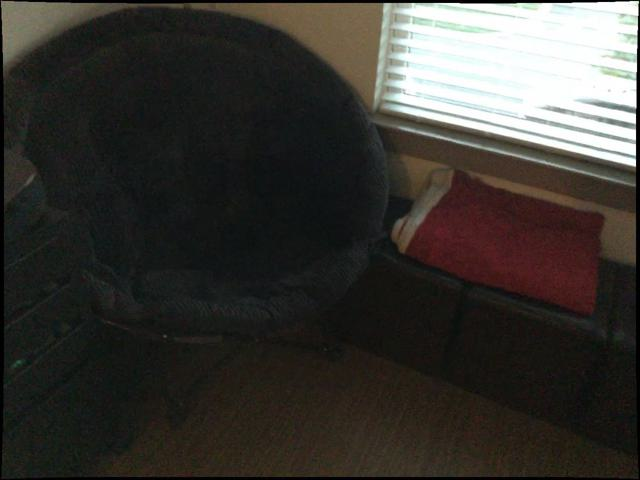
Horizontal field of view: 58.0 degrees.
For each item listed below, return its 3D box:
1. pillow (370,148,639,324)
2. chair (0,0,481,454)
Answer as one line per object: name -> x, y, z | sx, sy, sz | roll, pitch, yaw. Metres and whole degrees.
pillow -> 0.519, -0.040, 1.640 | 0.659, 0.160, 0.340 | 19, 39, 19
chair -> -0.309, -0.130, 1.680 | 1.058, 0.921, 0.871 | -7, 39, -13
